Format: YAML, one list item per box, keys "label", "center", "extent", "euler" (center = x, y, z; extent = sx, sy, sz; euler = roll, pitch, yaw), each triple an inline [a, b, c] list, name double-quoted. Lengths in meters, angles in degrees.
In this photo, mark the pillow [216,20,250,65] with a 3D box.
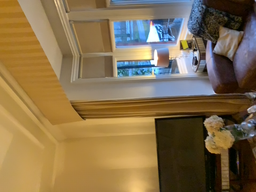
- label: "pillow"
  center: [1.160, -0.590, 2.370]
  extent: [0.120, 0.290, 0.390]
  euler: [32, 154, 20]
